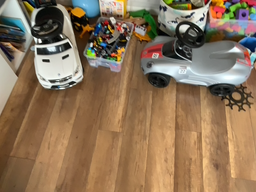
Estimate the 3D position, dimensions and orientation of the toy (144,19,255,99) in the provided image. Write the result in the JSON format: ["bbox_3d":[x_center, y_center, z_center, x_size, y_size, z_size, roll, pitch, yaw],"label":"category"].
[{"bbox_3d":[0.470,-0.260,1.450,0.660,0.210,0.420,8,61,3],"label":"toy"}]

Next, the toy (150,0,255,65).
[{"bbox_3d":[0.600,-0.570,1.550,0.790,0.460,0.370,8,61,3],"label":"toy"}]

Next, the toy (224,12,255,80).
[{"bbox_3d":[0.940,-0.340,1.510,0.400,0.230,0.390,11,61,5],"label":"toy"}]

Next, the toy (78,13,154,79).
[{"bbox_3d":[-0.070,-0.380,1.580,0.480,0.160,0.440,7,61,3],"label":"toy"}]

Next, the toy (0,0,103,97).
[{"bbox_3d":[-0.490,-0.370,1.510,0.480,0.250,0.670,7,61,3],"label":"toy"}]
